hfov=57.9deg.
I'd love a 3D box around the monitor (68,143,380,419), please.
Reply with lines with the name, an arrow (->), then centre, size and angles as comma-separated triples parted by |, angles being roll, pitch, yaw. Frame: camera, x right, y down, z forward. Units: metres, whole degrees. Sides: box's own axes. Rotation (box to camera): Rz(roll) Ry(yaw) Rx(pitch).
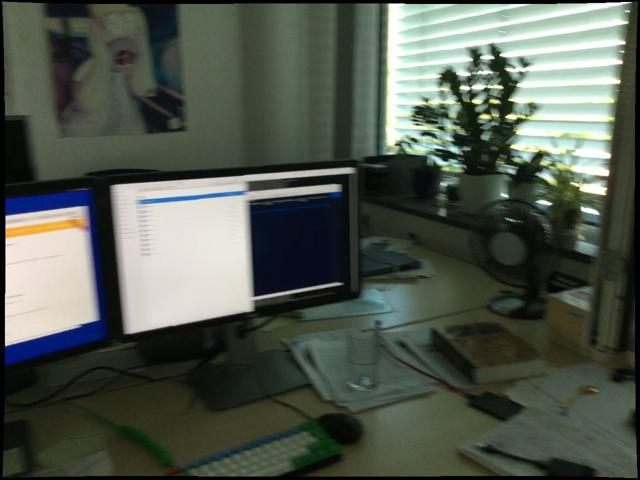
monitor -> -0.180, 0.060, 1.290 | 0.630, 0.480, 0.150 | -10, 17, -24
